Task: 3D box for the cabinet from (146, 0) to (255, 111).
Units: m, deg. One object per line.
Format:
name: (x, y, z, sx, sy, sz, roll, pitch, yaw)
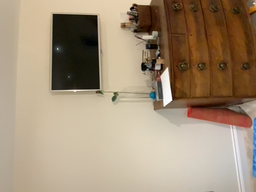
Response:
cabinet: (0.760, -0.460, 2.130, 0.580, 0.970, 1.120, 129, 139, -75)
